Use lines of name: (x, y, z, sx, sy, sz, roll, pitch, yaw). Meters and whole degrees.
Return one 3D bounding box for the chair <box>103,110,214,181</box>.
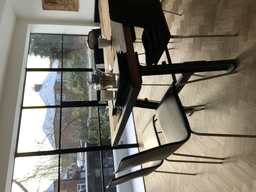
chair: (0.230, 0.450, 1.960, 0.440, 0.840, 0.470, 111, 154, -57)
